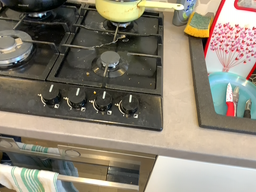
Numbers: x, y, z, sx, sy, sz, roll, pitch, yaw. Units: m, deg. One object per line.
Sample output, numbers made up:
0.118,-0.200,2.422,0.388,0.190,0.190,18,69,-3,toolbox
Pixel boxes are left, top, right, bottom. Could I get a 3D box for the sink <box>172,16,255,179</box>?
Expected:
0.370,-0.010,0.690,0.390,0.240,0.460,7,49,1,sink
